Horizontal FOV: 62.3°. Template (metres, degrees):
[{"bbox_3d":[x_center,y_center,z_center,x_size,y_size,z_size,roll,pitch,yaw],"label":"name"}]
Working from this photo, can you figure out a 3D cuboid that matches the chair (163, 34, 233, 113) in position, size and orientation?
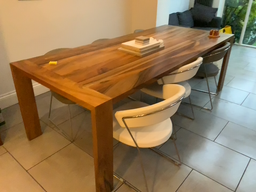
[{"bbox_3d":[0.820,-0.300,2.580,0.550,0.740,0.470,24,36,34],"label":"chair"}]

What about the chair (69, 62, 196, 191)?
[{"bbox_3d":[0.020,0.250,1.540,0.610,0.750,0.540,24,36,34],"label":"chair"}]

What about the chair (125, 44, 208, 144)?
[{"bbox_3d":[0.350,-0.050,2.120,0.580,0.740,0.460,24,36,34],"label":"chair"}]
